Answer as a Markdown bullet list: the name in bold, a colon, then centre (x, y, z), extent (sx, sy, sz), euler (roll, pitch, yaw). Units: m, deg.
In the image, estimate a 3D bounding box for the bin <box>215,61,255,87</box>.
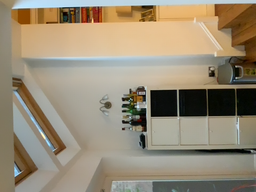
- **bin**: centre (1.430, -0.270, 2.700), extent (0.350, 0.490, 0.290), euler (-87, -4, -89)
